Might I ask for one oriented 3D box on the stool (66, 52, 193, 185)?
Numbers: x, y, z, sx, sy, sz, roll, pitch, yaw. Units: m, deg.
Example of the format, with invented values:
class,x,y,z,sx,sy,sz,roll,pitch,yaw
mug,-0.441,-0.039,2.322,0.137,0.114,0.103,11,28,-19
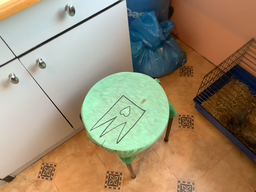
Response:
class,x,y,z,sx,sy,sz,roll,pitch,yaw
stool,0.010,0.130,0.960,0.330,0.460,0.320,-33,64,-14
